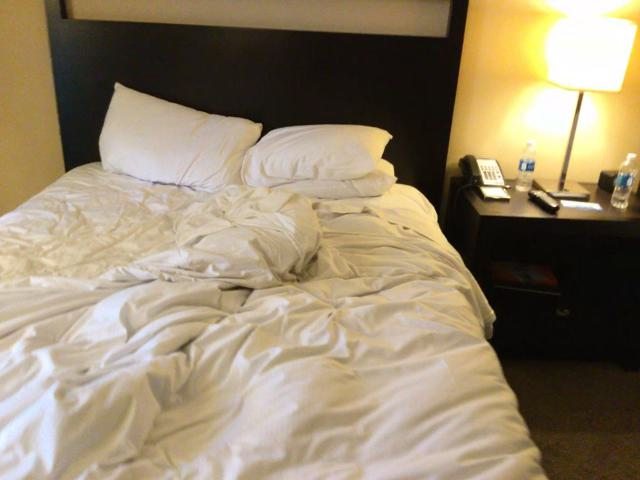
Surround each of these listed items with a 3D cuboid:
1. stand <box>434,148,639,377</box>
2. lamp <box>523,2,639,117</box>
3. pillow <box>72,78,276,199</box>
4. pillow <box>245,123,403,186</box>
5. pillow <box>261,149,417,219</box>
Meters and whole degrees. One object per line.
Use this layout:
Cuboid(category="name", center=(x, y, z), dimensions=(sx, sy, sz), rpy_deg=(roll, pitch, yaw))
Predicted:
Cuboid(category="stand", center=(0.940, 0.070, 2.390), dimensions=(0.790, 0.790, 0.520), rpy_deg=(1, 21, 1))
Cuboid(category="lamp", center=(0.980, -0.690, 2.200), dimensions=(0.270, 0.390, 0.300), rpy_deg=(1, 21, 1))
Cuboid(category="pillow", center=(-0.550, -0.410, 2.300), dimensions=(0.670, 0.340, 0.310), rpy_deg=(-7, 20, 5))
Cuboid(category="pillow", center=(0.020, -0.340, 2.220), dimensions=(0.540, 0.130, 0.480), rpy_deg=(1, 21, 1))
Cuboid(category="pillow", center=(0.070, -0.230, 2.230), dimensions=(0.530, 0.130, 0.510), rpy_deg=(1, 21, 1))
